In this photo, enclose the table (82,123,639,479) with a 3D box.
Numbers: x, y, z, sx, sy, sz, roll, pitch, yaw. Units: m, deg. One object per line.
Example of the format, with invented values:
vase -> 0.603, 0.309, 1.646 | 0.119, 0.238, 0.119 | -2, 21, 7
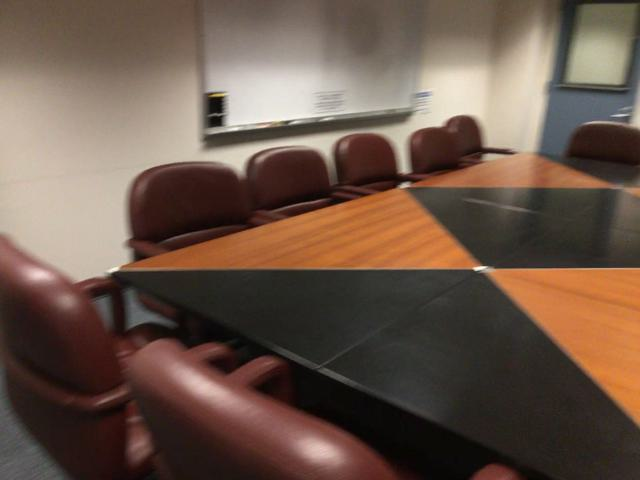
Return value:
table -> 1.790, 0.080, 2.040 | 3.680, 0.250, 3.590 | 18, 25, 39
